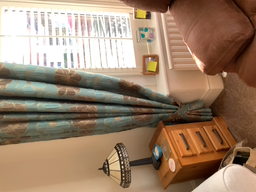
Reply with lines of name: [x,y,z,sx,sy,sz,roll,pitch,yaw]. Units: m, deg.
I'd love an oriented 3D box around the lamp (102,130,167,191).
lamp: [0.020,0.550,1.720,0.470,0.370,0.300,105,154,-46]
